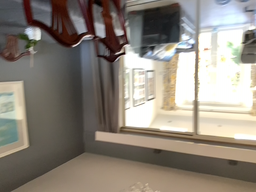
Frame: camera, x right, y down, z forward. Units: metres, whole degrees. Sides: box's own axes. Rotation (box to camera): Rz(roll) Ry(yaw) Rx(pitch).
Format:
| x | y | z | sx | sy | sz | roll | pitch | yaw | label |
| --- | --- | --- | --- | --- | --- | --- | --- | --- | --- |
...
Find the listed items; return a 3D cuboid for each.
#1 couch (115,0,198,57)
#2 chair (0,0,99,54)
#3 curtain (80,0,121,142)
| x | y | z | sx | sy | sz | roll | pitch | yaw | label |
| --- | --- | --- | --- | --- | --- | --- | --- | --- | --- |
| 0.800 | -1.360 | 4.750 | 1.130 | 0.770 | 2.350 | 2 | -172 | 26 | couch |
| -0.580 | -0.780 | 1.290 | 0.570 | 0.970 | 0.510 | 2 | -172 | 26 | chair |
| -0.400 | -0.420 | 3.180 | 0.410 | 2.140 | 0.320 | 2 | -173 | 24 | curtain |
